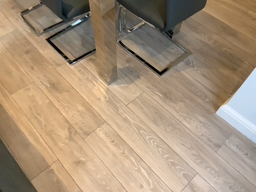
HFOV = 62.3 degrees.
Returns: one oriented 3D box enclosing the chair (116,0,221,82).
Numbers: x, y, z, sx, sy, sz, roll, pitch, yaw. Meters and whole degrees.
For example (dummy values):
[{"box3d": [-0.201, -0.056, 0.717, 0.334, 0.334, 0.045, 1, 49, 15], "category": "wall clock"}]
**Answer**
[{"box3d": [0.270, -0.680, 1.440, 0.450, 1.010, 0.550, -37, 66, -23], "category": "chair"}]
